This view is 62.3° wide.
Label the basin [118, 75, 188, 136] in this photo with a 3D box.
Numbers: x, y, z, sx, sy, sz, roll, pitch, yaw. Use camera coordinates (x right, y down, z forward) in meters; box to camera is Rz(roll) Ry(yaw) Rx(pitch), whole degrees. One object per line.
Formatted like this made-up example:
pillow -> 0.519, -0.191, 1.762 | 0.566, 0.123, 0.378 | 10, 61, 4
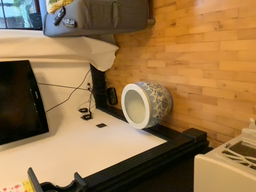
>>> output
basin -> 0.190, 0.040, 1.750 | 0.520, 0.270, 0.370 | 13, 112, 53
